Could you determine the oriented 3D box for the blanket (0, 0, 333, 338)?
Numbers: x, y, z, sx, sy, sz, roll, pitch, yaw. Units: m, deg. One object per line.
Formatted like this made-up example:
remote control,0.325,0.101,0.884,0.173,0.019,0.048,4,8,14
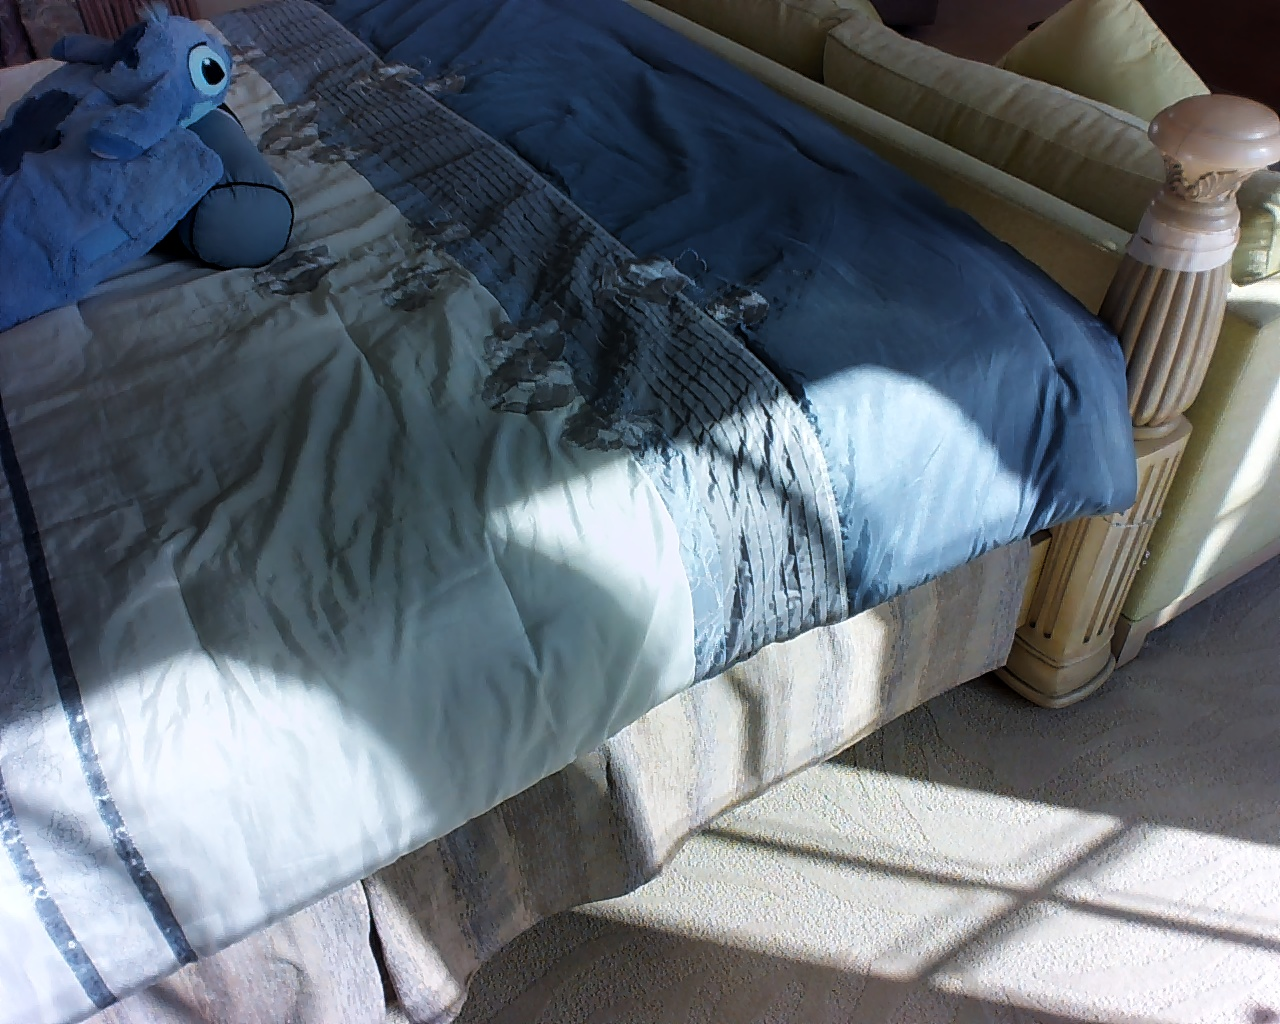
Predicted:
blanket,-0.770,-0.540,1.510,0.480,0.260,0.570,-19,44,-19
